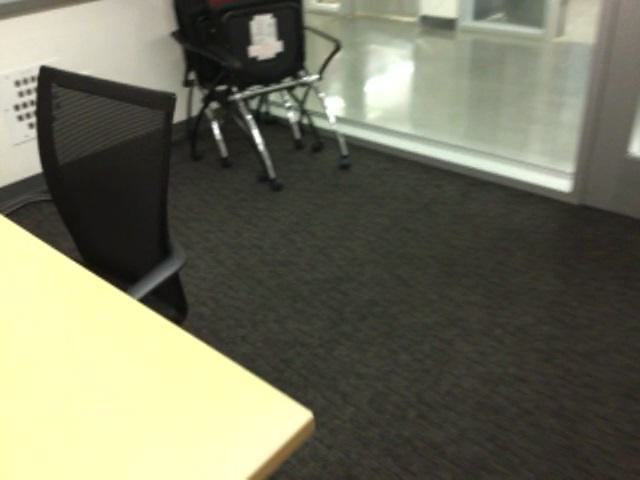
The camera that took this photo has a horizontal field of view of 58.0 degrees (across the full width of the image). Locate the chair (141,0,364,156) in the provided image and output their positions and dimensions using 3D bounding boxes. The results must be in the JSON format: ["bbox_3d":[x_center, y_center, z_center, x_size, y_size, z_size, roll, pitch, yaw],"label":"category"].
[{"bbox_3d":[-0.340,-0.980,2.830,0.650,0.760,0.900,-26,37,-30],"label":"chair"}]
